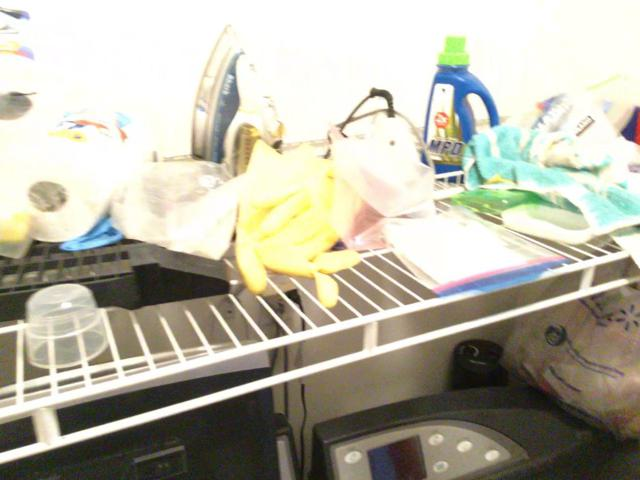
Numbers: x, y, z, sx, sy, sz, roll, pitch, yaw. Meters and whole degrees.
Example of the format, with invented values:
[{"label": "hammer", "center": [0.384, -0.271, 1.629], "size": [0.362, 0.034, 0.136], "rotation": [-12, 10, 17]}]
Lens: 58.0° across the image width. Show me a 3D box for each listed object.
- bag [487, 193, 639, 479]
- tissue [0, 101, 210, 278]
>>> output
[{"label": "bag", "center": [0.590, 0.210, 1.150], "size": [0.270, 0.490, 0.370], "rotation": [-11, 25, -25]}, {"label": "tissue", "center": [-0.300, -0.080, 0.720], "size": [0.250, 0.130, 0.250], "rotation": [-11, 25, -25]}]
